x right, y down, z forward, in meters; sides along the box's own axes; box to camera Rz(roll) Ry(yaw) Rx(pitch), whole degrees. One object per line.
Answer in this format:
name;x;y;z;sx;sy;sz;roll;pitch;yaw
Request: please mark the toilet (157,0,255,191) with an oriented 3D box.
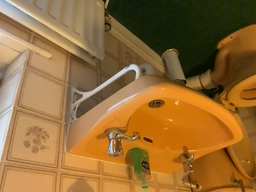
toilet;0.690;0.050;1.290;0.680;0.970;0.540;-31;140;33
